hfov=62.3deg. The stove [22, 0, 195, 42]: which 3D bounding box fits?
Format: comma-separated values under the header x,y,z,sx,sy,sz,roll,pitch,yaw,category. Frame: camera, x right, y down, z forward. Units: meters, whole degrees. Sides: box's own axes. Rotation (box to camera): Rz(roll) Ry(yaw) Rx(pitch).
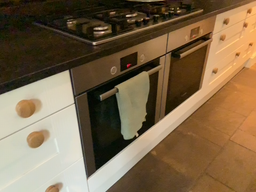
x,y,z,sx,sy,sz,roll,pitch,yaw,category
-0.050,-0.520,1.280,0.490,0.060,0.950,26,40,34,stove
